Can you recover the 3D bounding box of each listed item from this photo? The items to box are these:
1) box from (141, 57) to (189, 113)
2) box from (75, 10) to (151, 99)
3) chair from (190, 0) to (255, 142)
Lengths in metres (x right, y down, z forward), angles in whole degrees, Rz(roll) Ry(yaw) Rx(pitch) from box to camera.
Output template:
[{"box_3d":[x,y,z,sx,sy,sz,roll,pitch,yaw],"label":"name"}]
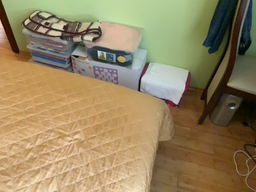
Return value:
[{"box_3d":[0.310,-0.100,1.780,0.320,0.260,0.330,13,46,8],"label":"box"},{"box_3d":[-0.110,-0.330,1.740,0.470,0.540,0.330,14,46,10],"label":"box"},{"box_3d":[0.850,-0.180,1.410,0.610,0.940,0.450,12,46,8],"label":"chair"}]
